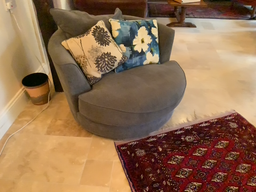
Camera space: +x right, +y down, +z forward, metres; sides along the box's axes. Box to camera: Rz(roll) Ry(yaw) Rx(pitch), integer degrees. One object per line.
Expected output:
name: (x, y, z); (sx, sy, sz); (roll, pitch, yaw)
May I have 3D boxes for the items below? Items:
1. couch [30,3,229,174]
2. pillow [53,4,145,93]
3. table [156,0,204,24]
couch: (-0.010, -0.210, 1.810); (1.060, 0.730, 1.050); (-28, 46, -32)
pillow: (-0.210, -0.370, 1.670); (0.580, 0.380, 0.200); (-42, 29, -13)
table: (0.960, -1.850, 4.160); (0.630, 0.440, 1.240); (0, 38, -1)
